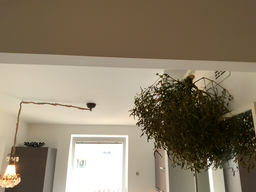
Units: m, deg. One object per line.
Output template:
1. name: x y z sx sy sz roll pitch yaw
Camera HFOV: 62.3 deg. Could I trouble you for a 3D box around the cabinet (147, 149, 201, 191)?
1. cabinet: 0.620 1.220 3.330 0.340 0.660 1.690 2 -17 -4
